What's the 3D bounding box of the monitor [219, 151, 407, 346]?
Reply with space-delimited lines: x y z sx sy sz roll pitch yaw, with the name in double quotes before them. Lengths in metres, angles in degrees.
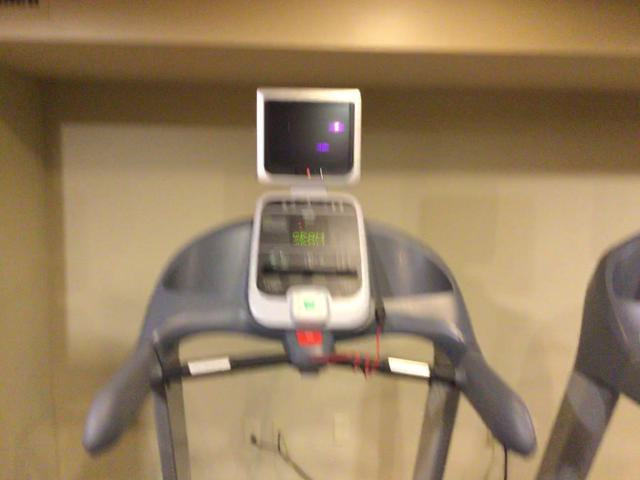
"monitor" -0.020 0.020 1.630 0.340 0.420 0.120 33 10 -2
